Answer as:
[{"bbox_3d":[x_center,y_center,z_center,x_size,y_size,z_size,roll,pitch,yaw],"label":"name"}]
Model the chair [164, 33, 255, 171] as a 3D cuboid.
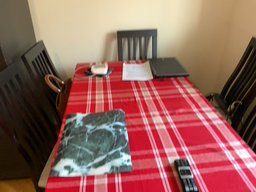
[{"bbox_3d":[0.670,0.060,1.720,0.560,1.010,0.440,-3,29,-6],"label":"chair"}]
